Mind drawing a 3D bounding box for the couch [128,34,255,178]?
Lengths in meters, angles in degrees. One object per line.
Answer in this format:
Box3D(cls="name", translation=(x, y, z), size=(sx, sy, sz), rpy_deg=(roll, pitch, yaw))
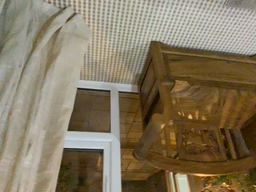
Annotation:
Box3D(cls="couch", translation=(0.610, 0.110, 1.590), size=(1.070, 0.790, 0.640), rpy_deg=(4, 143, -11))
